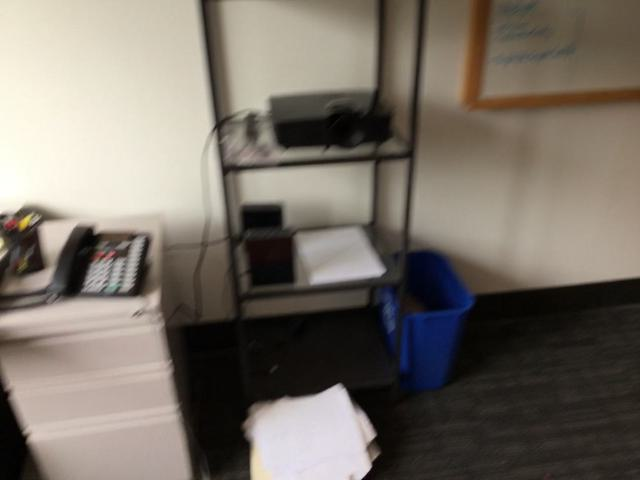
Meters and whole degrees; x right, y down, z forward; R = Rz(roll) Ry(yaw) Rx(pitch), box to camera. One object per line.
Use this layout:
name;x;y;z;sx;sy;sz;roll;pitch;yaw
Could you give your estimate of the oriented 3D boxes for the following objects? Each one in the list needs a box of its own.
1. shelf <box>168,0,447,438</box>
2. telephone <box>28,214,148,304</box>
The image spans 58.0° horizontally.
shelf;-0.050;-0.120;1.660;0.600;1.440;0.370;-4;30;-9
telephone;-0.540;0.040;1.380;0.220;0.110;0.200;-4;30;-9
